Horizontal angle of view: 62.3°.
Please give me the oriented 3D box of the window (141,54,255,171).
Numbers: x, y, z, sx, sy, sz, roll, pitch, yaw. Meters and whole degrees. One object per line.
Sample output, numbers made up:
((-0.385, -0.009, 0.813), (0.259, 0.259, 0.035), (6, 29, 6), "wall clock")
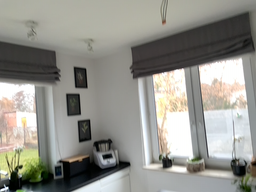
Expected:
((0.940, 0.250, 2.810), (1.560, 1.290, 0.200), (-7, -4, 35), "window")

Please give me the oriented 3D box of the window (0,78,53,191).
((-1.640, 0.480, 2.480), (0.170, 1.390, 1.510), (-7, -4, 38), "window")
